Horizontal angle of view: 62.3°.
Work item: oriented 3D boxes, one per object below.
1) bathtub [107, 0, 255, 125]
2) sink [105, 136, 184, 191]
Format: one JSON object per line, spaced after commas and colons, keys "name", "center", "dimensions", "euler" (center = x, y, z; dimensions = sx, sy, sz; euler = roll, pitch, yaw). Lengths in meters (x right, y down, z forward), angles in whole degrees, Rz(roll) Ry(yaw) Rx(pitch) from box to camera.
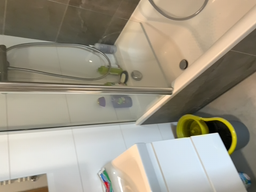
{"name": "bathtub", "center": [0.540, -0.510, 1.230], "dimensions": [1.620, 0.550, 0.700], "euler": [-47, 53, 45]}
{"name": "sink", "center": [0.110, 0.560, 0.990], "dimensions": [0.380, 0.140, 0.630], "euler": [-47, 53, 45]}
